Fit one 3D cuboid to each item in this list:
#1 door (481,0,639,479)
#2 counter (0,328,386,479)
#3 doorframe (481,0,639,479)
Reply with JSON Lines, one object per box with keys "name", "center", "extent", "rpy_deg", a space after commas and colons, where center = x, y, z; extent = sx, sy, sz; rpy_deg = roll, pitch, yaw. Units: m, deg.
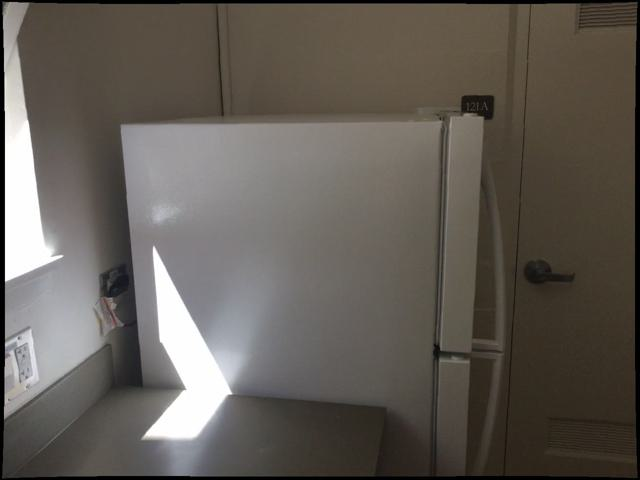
{"name": "door", "center": [1.037, 0.130, 1.960], "extent": [0.878, 1.935, 0.140], "rpy_deg": [1, 15, 12]}
{"name": "counter", "center": [-0.349, 0.521, 0.670], "extent": [0.688, 0.180, 1.620], "rpy_deg": [1, 15, 12]}
{"name": "doorframe", "center": [1.067, 0.140, 1.920], "extent": [0.958, 1.865, 0.160], "rpy_deg": [1, 15, 12]}
